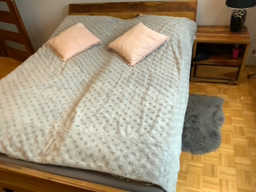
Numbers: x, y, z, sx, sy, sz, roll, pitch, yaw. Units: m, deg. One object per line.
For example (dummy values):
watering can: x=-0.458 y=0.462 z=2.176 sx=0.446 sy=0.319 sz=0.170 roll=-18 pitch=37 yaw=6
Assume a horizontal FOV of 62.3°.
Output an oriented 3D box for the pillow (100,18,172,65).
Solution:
pillow: x=0.080 y=-0.540 z=2.030 sx=0.530 sy=0.170 sz=0.410 roll=-30 pitch=45 yaw=-27

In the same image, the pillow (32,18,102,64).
pillow: x=-0.620 y=-0.580 z=2.160 sx=0.480 sy=0.180 sz=0.510 roll=-32 pitch=46 yaw=-29
